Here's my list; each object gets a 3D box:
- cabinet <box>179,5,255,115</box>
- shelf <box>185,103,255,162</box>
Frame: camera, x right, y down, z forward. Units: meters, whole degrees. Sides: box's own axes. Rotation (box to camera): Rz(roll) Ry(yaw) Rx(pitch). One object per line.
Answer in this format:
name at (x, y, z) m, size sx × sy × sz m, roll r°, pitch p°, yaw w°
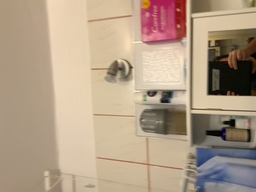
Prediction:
cabinet at (0.460, -0.100, 0.610) m, size 0.170 × 0.590 × 0.290 m, roll -19°, pitch -72°, yaw -68°
shelf at (0.480, 0.110, 0.640) m, size 0.160 × 0.580 × 0.140 m, roll -19°, pitch -72°, yaw -68°
